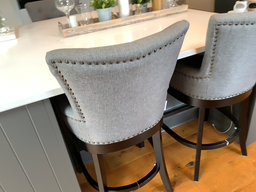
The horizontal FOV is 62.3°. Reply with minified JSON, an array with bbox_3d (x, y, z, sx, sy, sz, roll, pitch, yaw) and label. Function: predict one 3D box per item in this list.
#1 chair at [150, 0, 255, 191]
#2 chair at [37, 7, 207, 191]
[{"bbox_3d":[0.530,-0.030,1.350,0.520,1.060,0.570,-18,33,-19],"label":"chair"},{"bbox_3d":[-0.030,0.150,1.160,0.530,1.060,0.570,-18,33,-19],"label":"chair"}]
